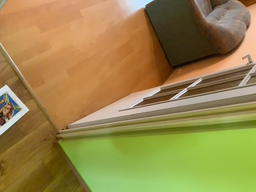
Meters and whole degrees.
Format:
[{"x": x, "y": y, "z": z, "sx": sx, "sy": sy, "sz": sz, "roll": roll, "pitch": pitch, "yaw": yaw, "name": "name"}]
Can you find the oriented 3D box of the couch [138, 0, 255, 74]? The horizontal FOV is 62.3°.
[{"x": 1.280, "y": -1.370, "z": 3.240, "sx": 2.450, "sy": 0.900, "sz": 0.900, "roll": -45, "pitch": 113, "yaw": -44, "name": "couch"}]
